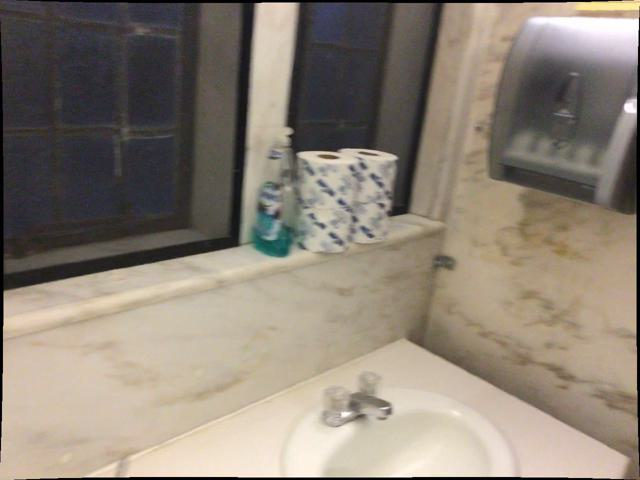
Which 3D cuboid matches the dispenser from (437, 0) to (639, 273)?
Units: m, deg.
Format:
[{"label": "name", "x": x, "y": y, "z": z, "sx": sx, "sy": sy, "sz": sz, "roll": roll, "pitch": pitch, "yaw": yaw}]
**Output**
[{"label": "dispenser", "x": 0.520, "y": -0.250, "z": 1.140, "sx": 0.410, "sy": 0.480, "sz": 0.270, "roll": 22, "pitch": 23, "yaw": 39}]
